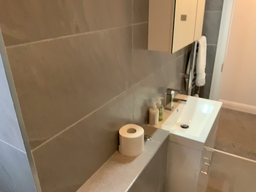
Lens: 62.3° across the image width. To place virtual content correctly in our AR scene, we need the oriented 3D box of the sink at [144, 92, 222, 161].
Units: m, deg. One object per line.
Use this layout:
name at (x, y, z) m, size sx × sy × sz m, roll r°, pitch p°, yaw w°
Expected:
sink at (0.420, 0.170, 1.530) m, size 0.350 × 0.130 × 0.630 m, roll 14°, pitch 28°, yaw 30°

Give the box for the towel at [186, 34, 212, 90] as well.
towel at (0.650, -0.320, 1.940) m, size 0.110 × 0.440 × 0.320 m, roll 13°, pitch 27°, yaw 28°
